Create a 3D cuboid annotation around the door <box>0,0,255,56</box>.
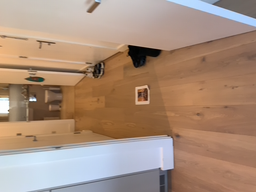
[{"bbox_3d":[-0.270,-0.420,1.170,0.890,1.950,0.050,2,91,61],"label":"door"}]
